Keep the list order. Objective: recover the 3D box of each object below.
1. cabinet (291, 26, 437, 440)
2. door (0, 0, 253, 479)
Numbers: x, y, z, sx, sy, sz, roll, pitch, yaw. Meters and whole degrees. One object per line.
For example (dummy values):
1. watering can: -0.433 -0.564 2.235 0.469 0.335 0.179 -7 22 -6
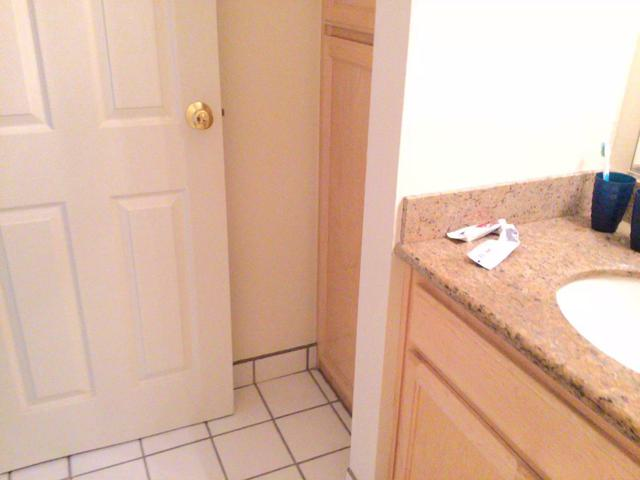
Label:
1. cabinet: 0.080 0.010 1.750 0.100 1.180 0.420 -6 30 -24
2. door: -0.600 -0.040 1.500 0.830 1.480 0.060 -9 26 -22
